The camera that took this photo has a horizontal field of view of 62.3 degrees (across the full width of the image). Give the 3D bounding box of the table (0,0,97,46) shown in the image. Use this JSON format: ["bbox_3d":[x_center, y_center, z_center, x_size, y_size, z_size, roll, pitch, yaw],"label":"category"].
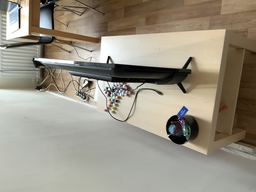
[{"bbox_3d":[-0.850,-1.210,2.270,0.760,0.750,1.230,13,101,46],"label":"table"}]

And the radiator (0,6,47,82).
[{"bbox_3d":[-1.620,-0.740,3.220,0.120,0.730,1.030,13,101,46],"label":"radiator"}]

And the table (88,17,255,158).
[{"bbox_3d":[0.220,-0.130,1.420,1.040,0.440,0.610,16,104,45],"label":"table"}]
